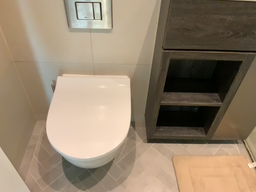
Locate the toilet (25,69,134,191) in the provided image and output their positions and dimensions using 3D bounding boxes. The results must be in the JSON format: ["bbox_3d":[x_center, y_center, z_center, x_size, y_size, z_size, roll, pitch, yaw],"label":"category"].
[{"bbox_3d":[-0.180,0.190,1.090,0.390,0.440,0.490,0,44,-1],"label":"toilet"}]
